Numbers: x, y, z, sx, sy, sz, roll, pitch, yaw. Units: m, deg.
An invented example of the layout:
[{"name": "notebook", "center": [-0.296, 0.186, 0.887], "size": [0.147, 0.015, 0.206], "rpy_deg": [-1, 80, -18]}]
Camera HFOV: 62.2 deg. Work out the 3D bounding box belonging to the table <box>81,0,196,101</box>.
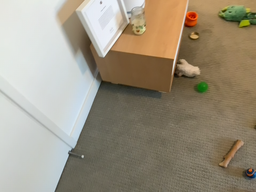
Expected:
[{"name": "table", "center": [0.120, -0.400, 1.430], "size": [0.550, 0.430, 0.640], "rpy_deg": [11, 63, 14]}]
